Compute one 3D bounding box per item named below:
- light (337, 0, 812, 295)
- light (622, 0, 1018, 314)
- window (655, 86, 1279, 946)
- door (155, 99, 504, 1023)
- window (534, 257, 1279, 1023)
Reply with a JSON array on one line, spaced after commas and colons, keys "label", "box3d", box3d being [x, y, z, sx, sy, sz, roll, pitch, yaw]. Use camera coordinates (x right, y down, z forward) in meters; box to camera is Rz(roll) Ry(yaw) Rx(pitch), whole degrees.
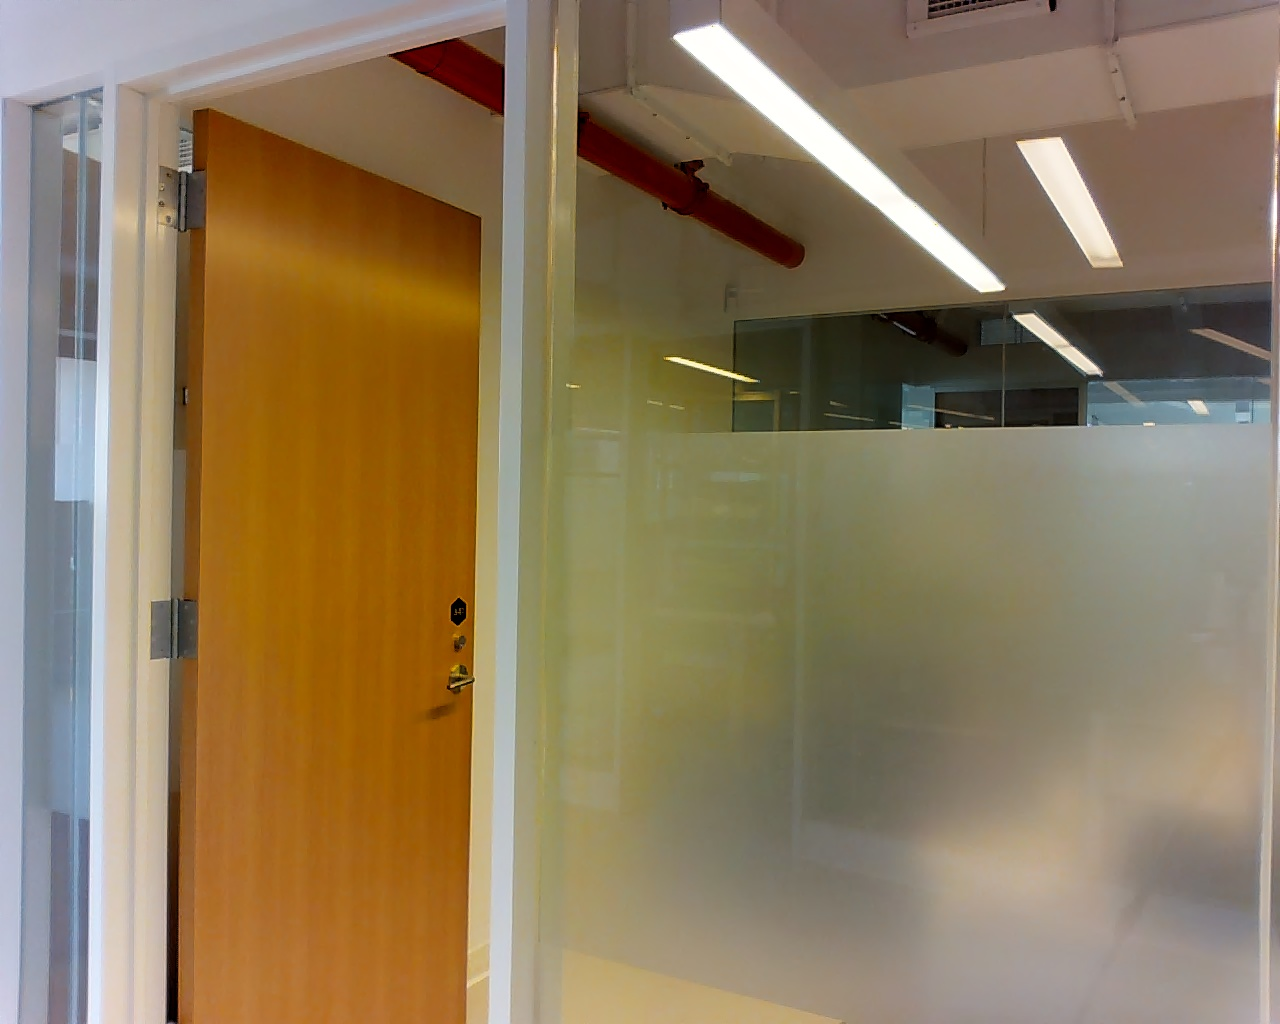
[{"label": "light", "box3d": [0.010, -1.090, 3.520, 0.270, 0.270, 2.480, 1, 0, 29]}, {"label": "light", "box3d": [0.680, -0.870, 2.900, 0.240, 0.220, 2.510, 1, 0, 29]}, {"label": "window", "box3d": [1.290, -0.010, 4.150, 2.700, 2.911, 0.060, 1, 0, 29]}, {"label": "door", "box3d": [-0.670, 0.320, 2.520, 0.090, 2.230, 0.970, 1, 0, 29]}, {"label": "window", "box3d": [0.430, 0.290, 1.310, 1.280, 1.130, 0.080, 1, 0, 29]}]
